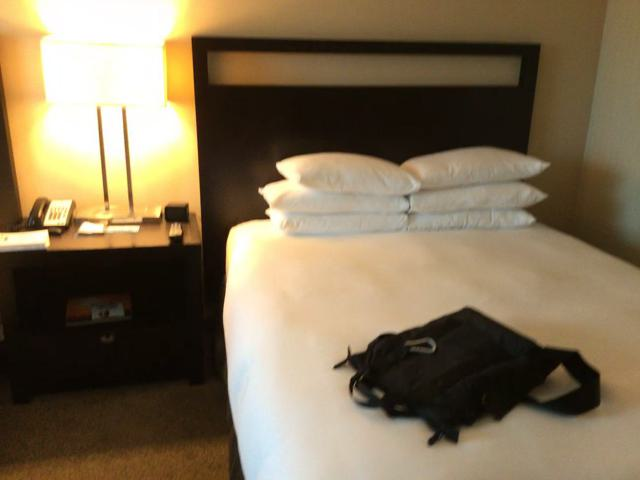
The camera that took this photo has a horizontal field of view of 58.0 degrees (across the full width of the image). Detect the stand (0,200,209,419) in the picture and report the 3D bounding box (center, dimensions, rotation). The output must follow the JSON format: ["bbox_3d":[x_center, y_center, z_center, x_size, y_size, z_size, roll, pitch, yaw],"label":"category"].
[{"bbox_3d":[-0.920,0.250,2.480,0.810,0.710,0.550,-4,16,-12],"label":"stand"}]

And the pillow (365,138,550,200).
[{"bbox_3d":[0.610,-0.340,2.660,0.710,0.200,0.410,-4,16,-12],"label":"pillow"}]

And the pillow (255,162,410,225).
[{"bbox_3d":[0.040,-0.220,2.590,0.610,0.180,0.400,-4,16,-12],"label":"pillow"}]

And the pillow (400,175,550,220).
[{"bbox_3d":[0.680,-0.190,2.540,0.640,0.140,0.140,-4,16,-12],"label":"pillow"}]

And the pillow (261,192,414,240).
[{"bbox_3d":[0.060,-0.120,2.610,0.600,0.090,0.420,-4,16,-12],"label":"pillow"}]

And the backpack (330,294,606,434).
[{"bbox_3d":[0.310,0.260,1.330,0.500,0.110,0.360,-4,16,-13],"label":"backpack"}]

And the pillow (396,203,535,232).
[{"bbox_3d":[0.640,-0.100,2.540,0.610,0.070,0.100,-4,16,-12],"label":"pillow"}]

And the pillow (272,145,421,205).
[{"bbox_3d":[0.100,-0.300,2.560,0.560,0.180,0.420,-4,16,-12],"label":"pillow"}]
